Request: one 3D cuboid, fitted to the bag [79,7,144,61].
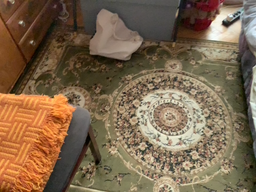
[{"bbox_3d":[-0.110,-0.480,1.650,0.450,0.240,0.320,2,56,2],"label":"bag"}]
